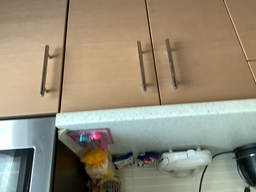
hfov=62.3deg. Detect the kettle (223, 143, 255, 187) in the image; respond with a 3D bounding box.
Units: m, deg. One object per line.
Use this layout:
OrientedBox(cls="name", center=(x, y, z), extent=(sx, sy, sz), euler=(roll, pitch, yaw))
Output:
OrientedBox(cls="kettle", center=(0.590, 0.320, 0.980), extent=(0.190, 0.160, 0.200), euler=(-4, 153, 0))
